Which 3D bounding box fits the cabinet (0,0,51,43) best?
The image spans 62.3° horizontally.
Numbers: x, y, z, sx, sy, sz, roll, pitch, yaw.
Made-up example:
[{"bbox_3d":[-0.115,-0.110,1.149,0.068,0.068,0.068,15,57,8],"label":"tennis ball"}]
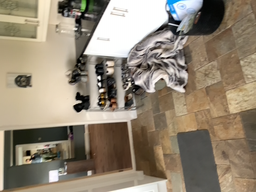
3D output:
[{"bbox_3d":[-1.380,-1.050,2.510,1.020,0.780,0.310,148,118,-61],"label":"cabinet"}]
